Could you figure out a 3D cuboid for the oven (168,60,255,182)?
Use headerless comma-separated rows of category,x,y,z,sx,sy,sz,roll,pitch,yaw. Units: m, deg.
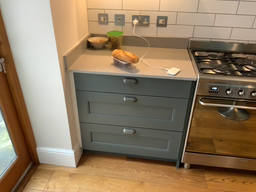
oven,0.850,0.190,1.790,0.920,0.720,0.630,6,31,6
